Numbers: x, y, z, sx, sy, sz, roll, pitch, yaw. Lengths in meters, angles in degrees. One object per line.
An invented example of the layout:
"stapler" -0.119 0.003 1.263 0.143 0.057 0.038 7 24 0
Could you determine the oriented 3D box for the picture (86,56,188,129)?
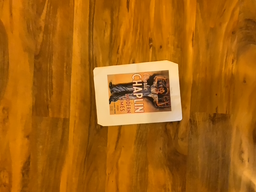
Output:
"picture" 0.030 -0.010 0.720 0.330 0.030 0.230 -2 91 4
